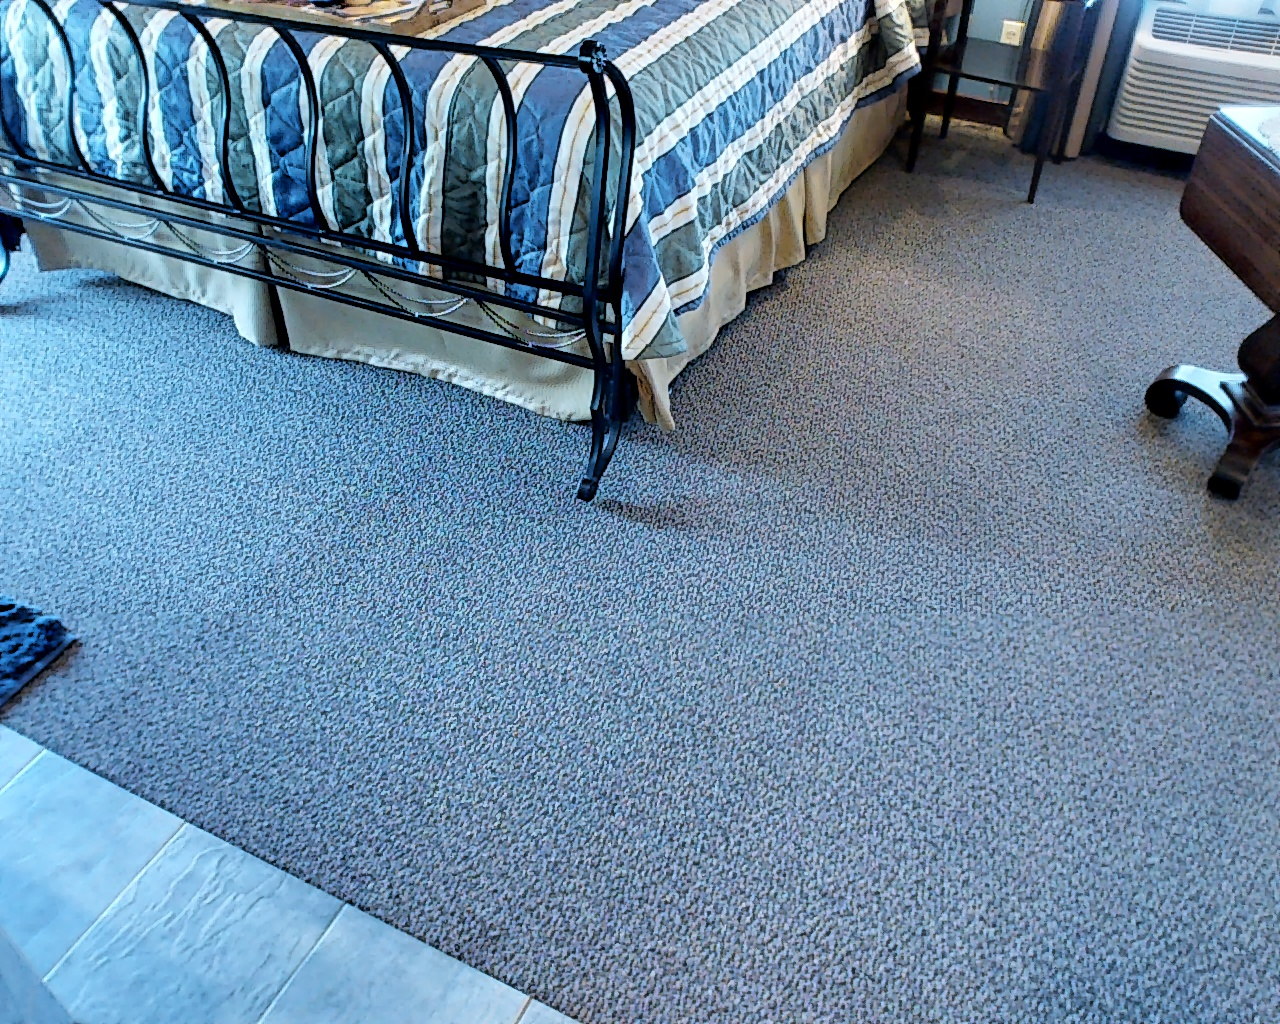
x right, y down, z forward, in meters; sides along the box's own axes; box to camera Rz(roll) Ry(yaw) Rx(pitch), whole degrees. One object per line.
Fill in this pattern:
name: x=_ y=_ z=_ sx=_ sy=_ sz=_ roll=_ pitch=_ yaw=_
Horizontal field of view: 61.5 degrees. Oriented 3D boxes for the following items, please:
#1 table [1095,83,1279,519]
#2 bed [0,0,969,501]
table: x=1.480 y=-0.460 z=2.340 sx=0.580 sy=0.760 sz=0.510 roll=-5 pitch=41 yaw=-5
bed: x=-0.360 y=-1.500 z=3.190 sx=2.170 sy=1.150 sz=2.470 roll=17 pitch=44 yaw=19
